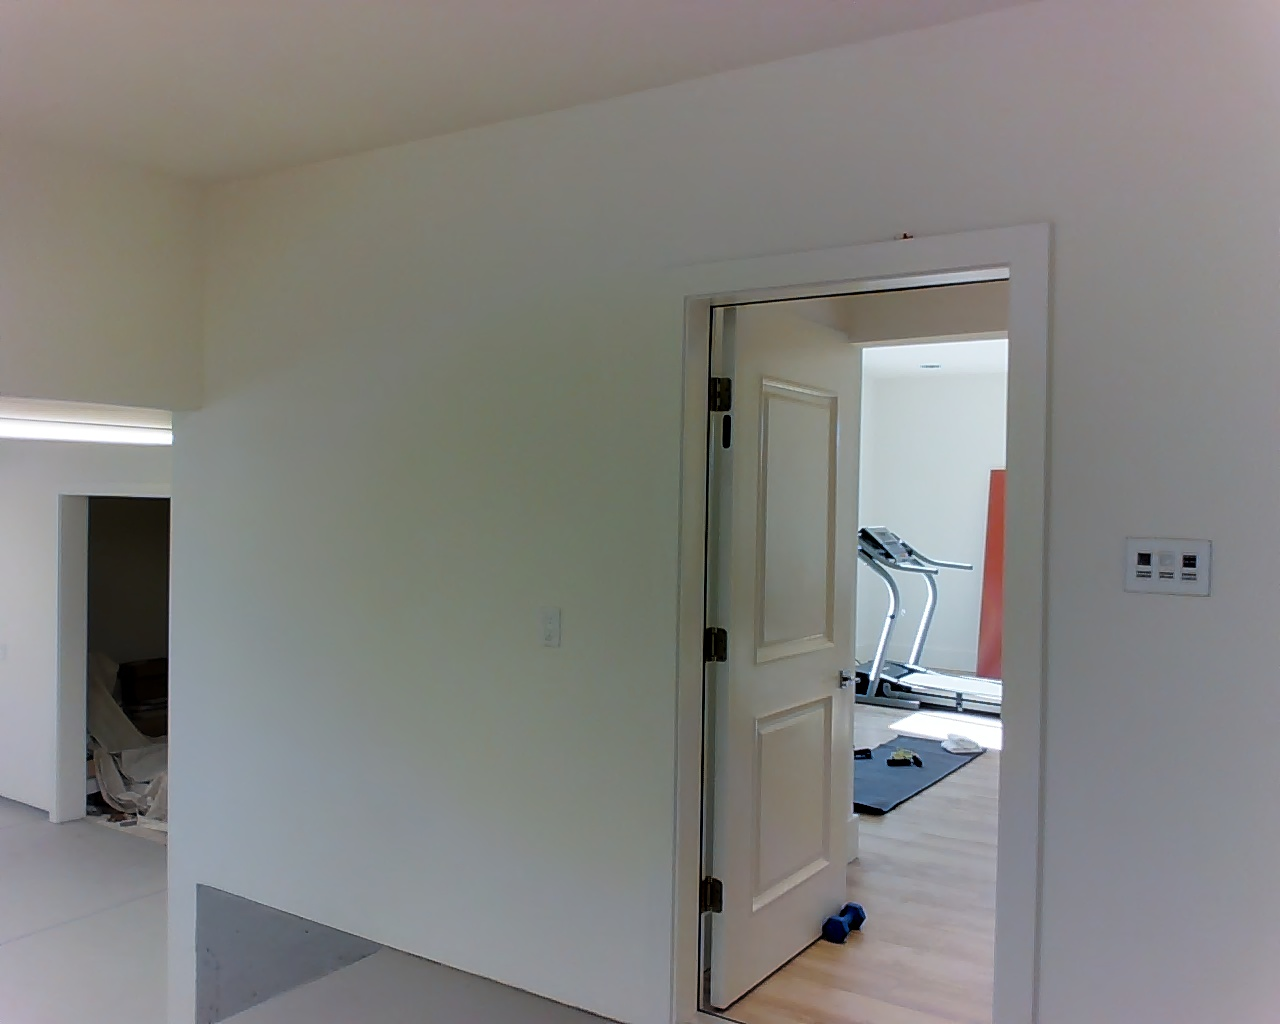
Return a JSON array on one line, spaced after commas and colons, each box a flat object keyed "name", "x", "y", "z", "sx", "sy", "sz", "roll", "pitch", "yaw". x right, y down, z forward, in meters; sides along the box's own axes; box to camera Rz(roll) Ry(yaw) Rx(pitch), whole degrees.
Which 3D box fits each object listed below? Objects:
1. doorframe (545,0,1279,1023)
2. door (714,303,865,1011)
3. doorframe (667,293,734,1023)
[{"name": "doorframe", "x": 0.910, "y": 0.140, "z": 2.640, "sx": 2.680, "sy": 2.820, "sz": 0.210, "roll": 1, "pitch": 1, "yaw": 33}, {"name": "door", "x": 0.530, "y": 0.440, "z": 3.640, "sx": 0.090, "sy": 2.140, "sz": 0.900, "roll": 1, "pitch": 1, "yaw": 33}, {"name": "doorframe", "x": 0.180, "y": 0.450, "z": 3.160, "sx": 0.040, "sy": 2.140, "sz": 0.250, "roll": 1, "pitch": 1, "yaw": 33}]
